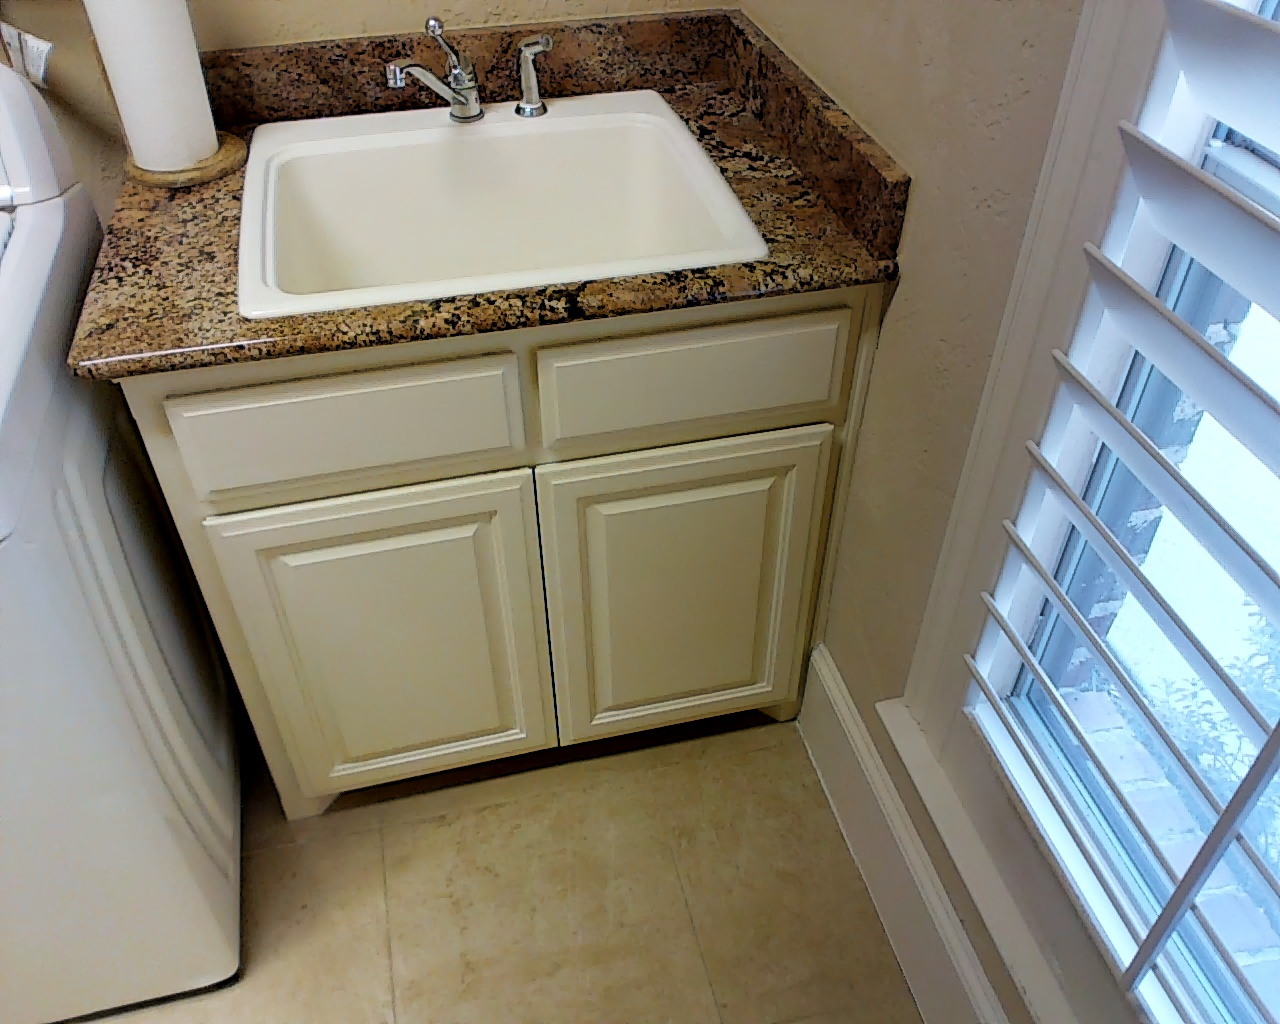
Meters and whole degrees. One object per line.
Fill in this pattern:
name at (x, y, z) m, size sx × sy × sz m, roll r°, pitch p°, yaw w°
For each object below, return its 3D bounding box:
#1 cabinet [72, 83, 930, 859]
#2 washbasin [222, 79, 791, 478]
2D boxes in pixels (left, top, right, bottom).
cabinet at (-0.200, -0.070, 1.750) m, size 0.970 × 0.950 × 0.640 m, roll -9°, pitch 42°, yaw -10°
washbasin at (-0.200, -0.360, 1.500) m, size 0.650 × 0.250 × 0.550 m, roll -8°, pitch 42°, yaw -10°
